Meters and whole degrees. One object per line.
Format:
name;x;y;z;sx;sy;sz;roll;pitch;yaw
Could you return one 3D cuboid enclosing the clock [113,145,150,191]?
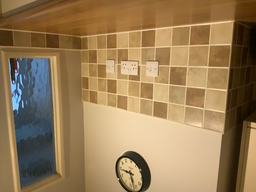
clock;0.020;0.500;1.420;0.100;0.260;0.240;-10;-165;-44
